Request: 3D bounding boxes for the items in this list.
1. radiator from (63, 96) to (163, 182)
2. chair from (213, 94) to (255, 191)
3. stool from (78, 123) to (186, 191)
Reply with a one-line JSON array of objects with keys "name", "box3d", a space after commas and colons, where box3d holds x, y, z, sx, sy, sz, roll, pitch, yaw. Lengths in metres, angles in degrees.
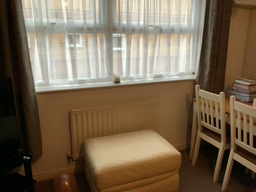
[{"name": "radiator", "box3d": [-0.120, 0.430, 2.250, 1.030, 0.750, 0.100, -6, 16, -22]}, {"name": "chair", "box3d": [1.120, 0.470, 1.810, 0.510, 0.890, 0.400, -6, 16, -22]}, {"name": "stool", "box3d": [0.000, 0.640, 1.960, 0.770, 0.470, 0.650, -6, 16, -23]}]
